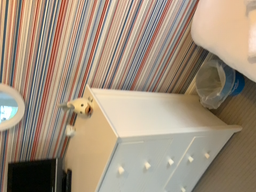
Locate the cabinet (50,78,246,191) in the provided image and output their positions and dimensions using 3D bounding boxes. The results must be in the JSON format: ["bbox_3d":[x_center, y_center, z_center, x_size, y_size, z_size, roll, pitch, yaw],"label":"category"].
[{"bbox_3d":[0.090,0.450,1.530,0.480,1.010,0.970,56,132,42],"label":"cabinet"}]

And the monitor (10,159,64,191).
[{"bbox_3d":[-0.540,0.600,1.280,0.020,0.300,0.390,-5,84,55],"label":"monitor"}]
